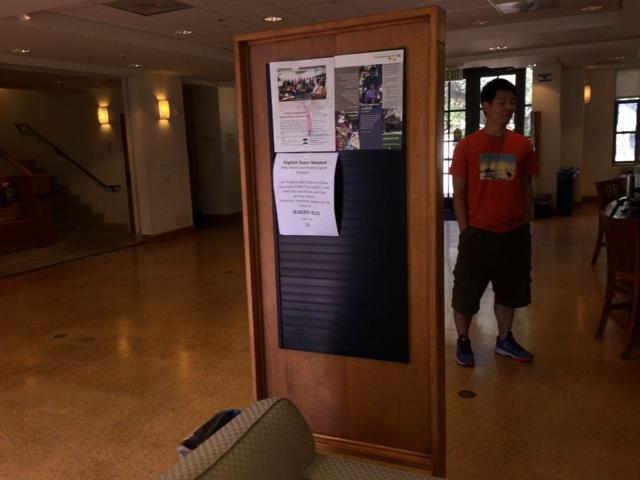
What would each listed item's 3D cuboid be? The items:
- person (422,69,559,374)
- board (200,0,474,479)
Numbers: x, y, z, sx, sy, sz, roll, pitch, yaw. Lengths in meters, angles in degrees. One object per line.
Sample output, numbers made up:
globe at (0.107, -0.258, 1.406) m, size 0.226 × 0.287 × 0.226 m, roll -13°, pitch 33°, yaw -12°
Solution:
person at (1.050, -0.100, 3.600) m, size 0.640 × 1.750 × 0.420 m, roll -5°, pitch 8°, yaw 5°
board at (0.060, 0.040, 1.820) m, size 0.740 × 1.460 × 0.150 m, roll -1°, pitch 10°, yaw 25°
